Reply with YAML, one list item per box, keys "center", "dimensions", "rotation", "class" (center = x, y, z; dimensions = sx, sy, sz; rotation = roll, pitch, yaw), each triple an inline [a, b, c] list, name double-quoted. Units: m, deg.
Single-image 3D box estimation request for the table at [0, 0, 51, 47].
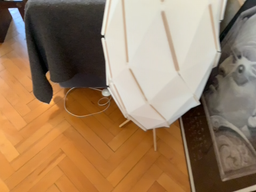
- center: [-0.900, -0.670, 1.700]
  dimensions: [0.390, 0.390, 0.370]
  rotation: [-1, 57, -3]
  class: "table"
